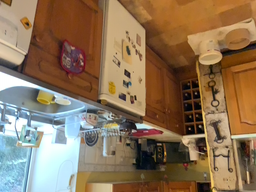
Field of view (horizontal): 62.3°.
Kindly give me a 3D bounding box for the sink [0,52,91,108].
[{"bbox_3d":[-0.520,-0.070,1.330,0.380,0.140,0.420,-12,158,31],"label":"sink"}]
